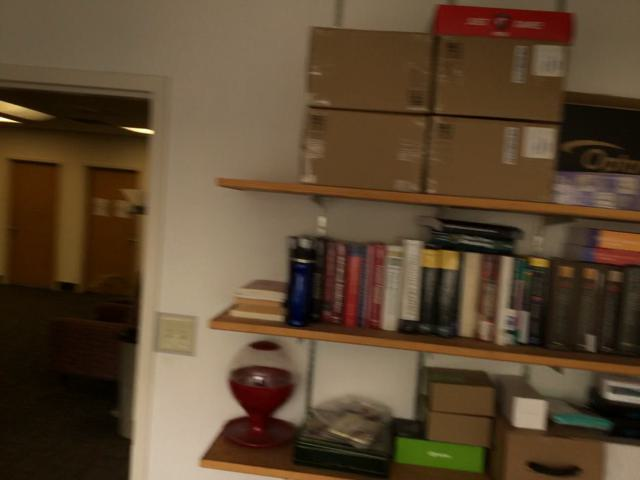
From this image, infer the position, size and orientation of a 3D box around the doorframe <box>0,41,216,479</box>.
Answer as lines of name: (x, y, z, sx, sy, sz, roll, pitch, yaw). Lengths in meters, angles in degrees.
doorframe: (-0.880, 0.310, 1.880, 0.860, 1.810, 0.140, 8, 4, 7)

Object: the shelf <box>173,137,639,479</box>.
shelf: (0.510, 0.480, 1.550, 1.700, 1.270, 0.340, 8, 4, 7)

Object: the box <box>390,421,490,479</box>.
box: (0.320, 0.600, 1.580, 0.240, 0.100, 0.190, 8, 4, 7)
